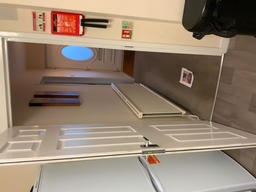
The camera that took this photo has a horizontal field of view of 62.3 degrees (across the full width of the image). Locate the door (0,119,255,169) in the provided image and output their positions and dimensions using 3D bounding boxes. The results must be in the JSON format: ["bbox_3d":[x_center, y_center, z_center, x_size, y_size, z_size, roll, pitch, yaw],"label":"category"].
[{"bbox_3d":[0.050,0.310,1.650,0.700,2.010,0.050,-159,70,-72],"label":"door"}]

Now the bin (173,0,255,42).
[{"bbox_3d":[0.740,-0.610,1.590,0.290,0.690,0.350,-135,47,-67],"label":"bin"}]
